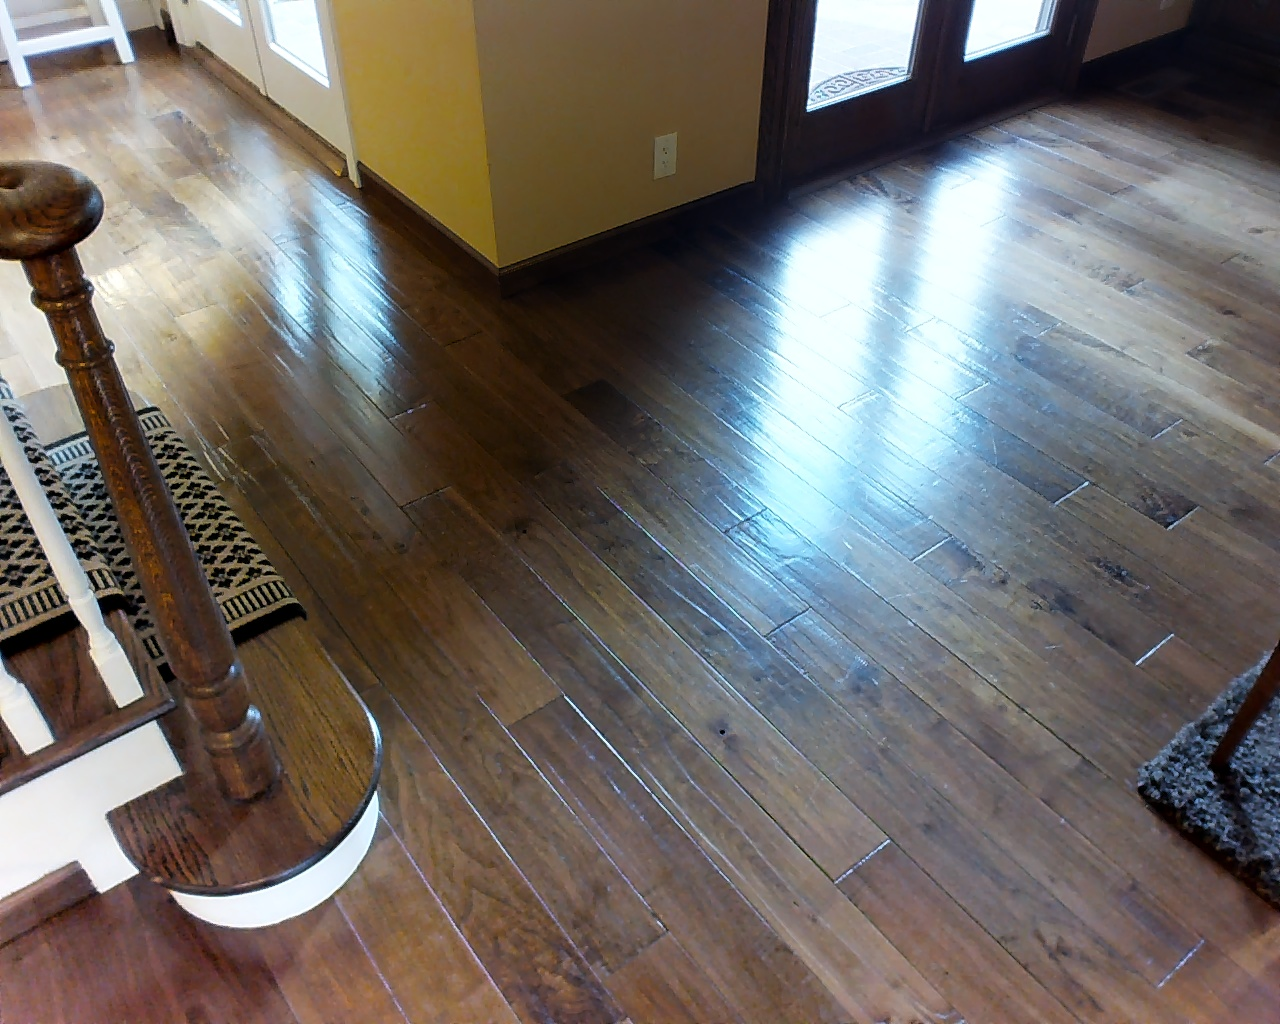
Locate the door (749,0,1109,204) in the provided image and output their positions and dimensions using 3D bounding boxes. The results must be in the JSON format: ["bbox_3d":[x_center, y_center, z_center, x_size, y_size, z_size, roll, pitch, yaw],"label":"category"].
[{"bbox_3d":[1.020,-2.060,3.120,1.560,1.990,0.140,-27,49,-26],"label":"door"}]
